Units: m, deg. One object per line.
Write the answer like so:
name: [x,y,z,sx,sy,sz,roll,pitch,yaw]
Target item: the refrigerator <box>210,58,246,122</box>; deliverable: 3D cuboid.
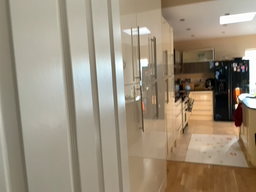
refrigerator: [2.950,-0.190,6.300,0.900,1.760,0.740,-1,6,21]
